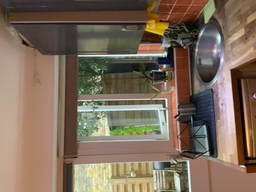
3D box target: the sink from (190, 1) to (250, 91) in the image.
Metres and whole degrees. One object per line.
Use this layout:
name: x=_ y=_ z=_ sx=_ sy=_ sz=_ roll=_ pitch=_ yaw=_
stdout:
sink: x=0.630 y=-0.320 z=1.540 sx=0.480 sy=0.170 sz=0.500 roll=121 pitch=148 yaw=-83
